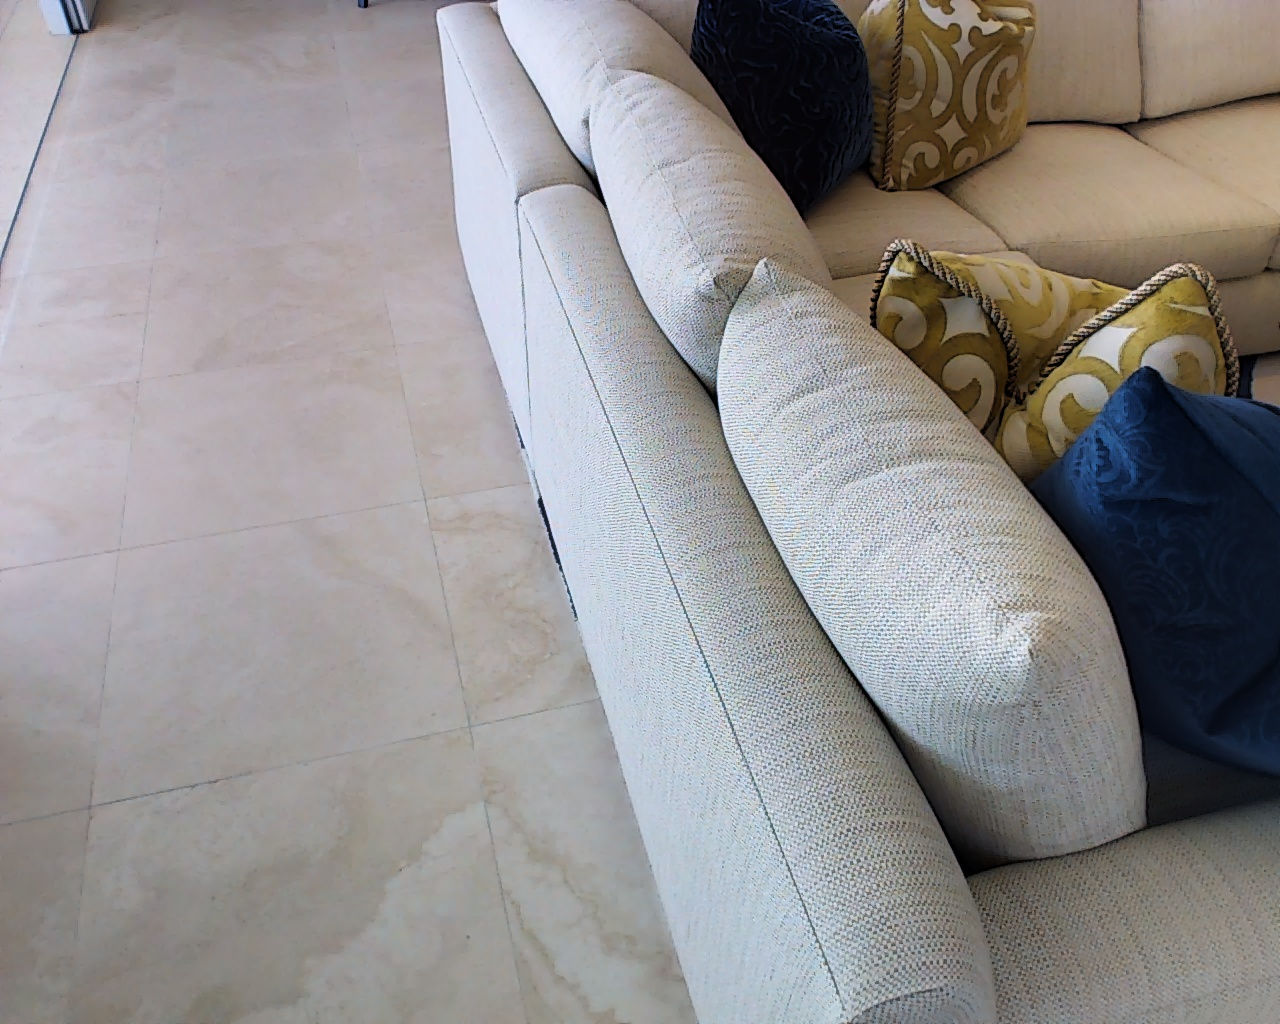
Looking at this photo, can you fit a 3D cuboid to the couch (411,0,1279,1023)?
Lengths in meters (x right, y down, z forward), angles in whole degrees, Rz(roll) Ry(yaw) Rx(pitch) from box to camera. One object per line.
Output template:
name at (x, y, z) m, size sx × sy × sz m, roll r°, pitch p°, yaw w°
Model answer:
couch at (1.420, -0.480, 2.180) m, size 3.390 × 0.950 × 2.660 m, roll -10°, pitch 42°, yaw -12°

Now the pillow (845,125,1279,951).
pillow at (0.680, 0.100, 1.110) m, size 0.670 × 0.590 × 0.460 m, roll 26°, pitch 62°, yaw 7°

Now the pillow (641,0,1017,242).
pillow at (0.360, -0.880, 2.200) m, size 0.280 × 0.560 × 0.490 m, roll 47°, pitch 76°, yaw -17°

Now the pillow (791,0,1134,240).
pillow at (0.750, -1.040, 2.360) m, size 0.340 × 0.600 × 0.600 m, roll 46°, pitch 67°, yaw 4°

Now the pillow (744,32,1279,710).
pillow at (0.560, -0.160, 1.450) m, size 0.640 × 0.560 × 0.380 m, roll 38°, pitch 65°, yaw 13°
